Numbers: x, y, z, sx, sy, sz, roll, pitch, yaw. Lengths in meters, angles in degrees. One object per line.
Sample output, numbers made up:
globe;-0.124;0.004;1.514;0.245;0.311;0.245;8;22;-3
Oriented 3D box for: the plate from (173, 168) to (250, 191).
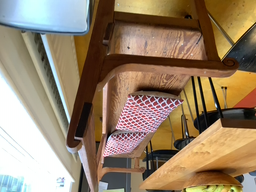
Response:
plate;0.490;0.570;1.300;0.310;0.180;0.340;3;150;-7
